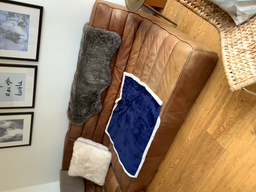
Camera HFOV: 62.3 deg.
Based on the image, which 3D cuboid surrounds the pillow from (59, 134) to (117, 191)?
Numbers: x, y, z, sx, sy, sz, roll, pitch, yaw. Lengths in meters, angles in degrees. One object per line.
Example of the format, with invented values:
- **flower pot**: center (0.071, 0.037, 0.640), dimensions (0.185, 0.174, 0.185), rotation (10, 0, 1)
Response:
- **pillow**: center (-0.500, 0.860, 2.730), dimensions (0.190, 0.530, 0.550), rotation (51, 168, 55)
